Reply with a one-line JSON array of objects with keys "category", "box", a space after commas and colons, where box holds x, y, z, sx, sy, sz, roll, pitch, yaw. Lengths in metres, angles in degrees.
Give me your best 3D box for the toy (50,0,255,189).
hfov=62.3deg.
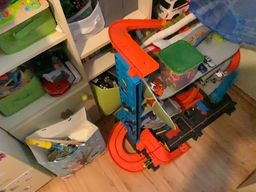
[{"category": "toy", "box": [0.190, -0.020, 1.090, 0.820, 0.750, 0.400, -38, 66, -18]}]
